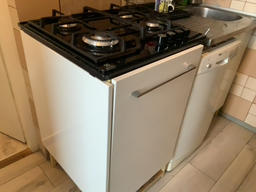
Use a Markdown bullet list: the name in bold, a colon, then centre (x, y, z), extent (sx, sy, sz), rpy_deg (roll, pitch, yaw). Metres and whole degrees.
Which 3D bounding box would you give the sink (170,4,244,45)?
- **sink**: centre (0.570, -0.540, 1.550), extent (0.370, 0.160, 0.350), rpy_deg (-25, 44, -38)

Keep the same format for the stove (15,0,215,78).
- **stove**: centre (-0.050, -0.310, 0.920), extent (0.610, 0.060, 0.600), rpy_deg (-25, 44, -38)
